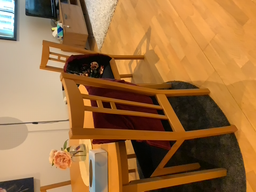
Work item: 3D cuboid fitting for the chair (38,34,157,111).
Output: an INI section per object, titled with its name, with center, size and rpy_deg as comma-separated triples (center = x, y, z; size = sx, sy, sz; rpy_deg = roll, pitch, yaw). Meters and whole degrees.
[chair]
center = -0.310, -0.190, 2.050
size = 0.450, 0.990, 0.490
rpy_deg = -50, 47, 51

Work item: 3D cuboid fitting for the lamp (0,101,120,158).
[lamp]
center = -1.060, 0.380, 2.570
size = 0.330, 1.850, 0.530
rpy_deg = -57, 42, 46
